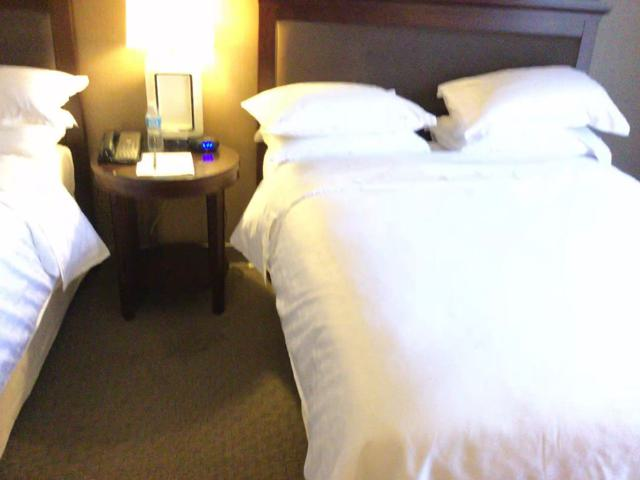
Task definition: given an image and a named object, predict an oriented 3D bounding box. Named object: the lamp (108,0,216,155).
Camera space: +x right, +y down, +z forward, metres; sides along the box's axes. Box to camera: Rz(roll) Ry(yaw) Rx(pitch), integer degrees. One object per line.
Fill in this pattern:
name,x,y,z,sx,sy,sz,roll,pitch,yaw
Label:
lamp,-0.650,-0.760,2.450,0.400,0.750,0.230,-1,21,-10
